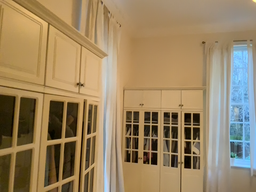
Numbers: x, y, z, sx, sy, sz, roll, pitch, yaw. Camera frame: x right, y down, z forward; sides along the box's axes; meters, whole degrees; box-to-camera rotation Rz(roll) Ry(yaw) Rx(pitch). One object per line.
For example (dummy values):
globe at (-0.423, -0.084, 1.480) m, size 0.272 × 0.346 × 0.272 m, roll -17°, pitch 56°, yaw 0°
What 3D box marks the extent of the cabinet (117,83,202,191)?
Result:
cabinet at (0.640, 0.880, 4.220) m, size 1.540 × 2.190 × 0.570 m, roll 1°, pitch -4°, yaw 15°
